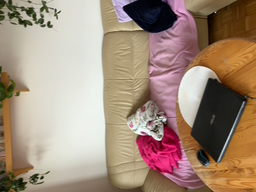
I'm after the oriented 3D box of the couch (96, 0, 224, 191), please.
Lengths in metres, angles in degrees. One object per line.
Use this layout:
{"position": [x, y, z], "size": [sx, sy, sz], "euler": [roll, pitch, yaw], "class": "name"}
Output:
{"position": [0.240, -0.210, 2.020], "size": [0.820, 0.820, 2.480], "euler": [180, 87, -68], "class": "couch"}
